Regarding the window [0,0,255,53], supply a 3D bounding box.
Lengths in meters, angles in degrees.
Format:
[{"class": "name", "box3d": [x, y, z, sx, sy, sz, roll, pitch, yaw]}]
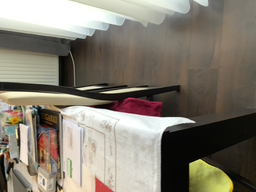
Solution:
[{"class": "window", "box3d": [-0.840, -0.500, 0.710, 2.650, 2.850, 0.180, 4, 96, 49]}]
